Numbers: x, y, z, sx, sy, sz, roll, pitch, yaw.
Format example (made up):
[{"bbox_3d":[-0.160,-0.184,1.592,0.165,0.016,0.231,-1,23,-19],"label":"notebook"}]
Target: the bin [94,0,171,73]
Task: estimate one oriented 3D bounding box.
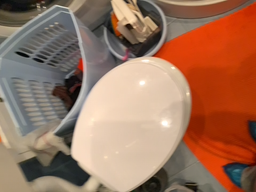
[{"bbox_3d":[0.030,-0.310,1.080,0.270,0.180,0.250,-36,81,9],"label":"bin"}]
